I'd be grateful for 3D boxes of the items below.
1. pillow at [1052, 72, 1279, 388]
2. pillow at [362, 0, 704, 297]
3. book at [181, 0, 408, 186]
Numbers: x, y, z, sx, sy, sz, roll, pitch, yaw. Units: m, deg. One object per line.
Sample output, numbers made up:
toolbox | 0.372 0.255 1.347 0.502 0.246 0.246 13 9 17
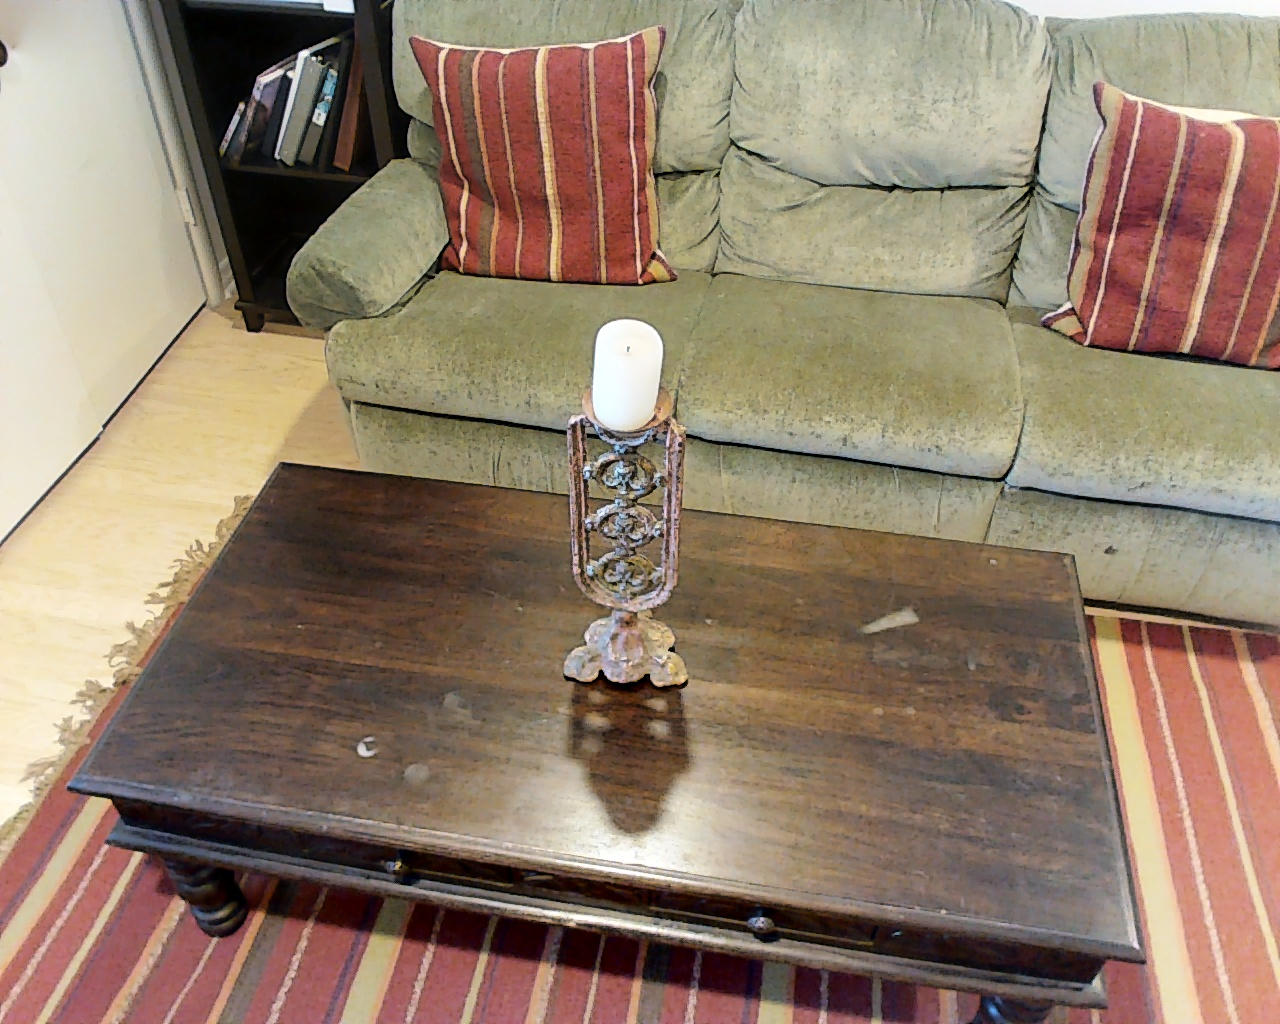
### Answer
pillow | 1.110 -0.540 2.080 0.540 0.490 0.220 -6 38 19
pillow | -0.200 -0.760 2.280 0.590 0.450 0.240 -7 39 12
book | -0.830 -1.050 2.650 0.360 0.320 0.350 10 43 10
